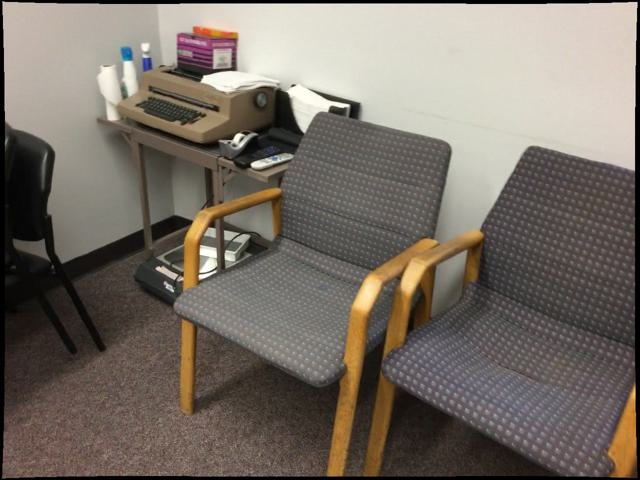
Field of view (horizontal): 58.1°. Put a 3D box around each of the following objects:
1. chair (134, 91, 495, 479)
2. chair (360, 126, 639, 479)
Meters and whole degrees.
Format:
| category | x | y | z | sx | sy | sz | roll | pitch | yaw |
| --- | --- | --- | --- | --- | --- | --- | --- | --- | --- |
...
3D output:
| category | x | y | z | sx | sy | sz | roll | pitch | yaw |
| --- | --- | --- | --- | --- | --- | --- | --- | --- | --- |
| chair | 0.020 | 0.130 | 1.830 | 0.669 | 0.872 | 0.780 | 21 | 40 | 28 |
| chair | 0.588 | 0.311 | 1.580 | 0.579 | 0.881 | 0.790 | 25 | 44 | 29 |
